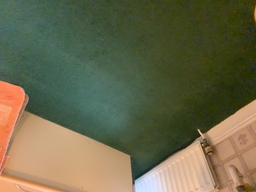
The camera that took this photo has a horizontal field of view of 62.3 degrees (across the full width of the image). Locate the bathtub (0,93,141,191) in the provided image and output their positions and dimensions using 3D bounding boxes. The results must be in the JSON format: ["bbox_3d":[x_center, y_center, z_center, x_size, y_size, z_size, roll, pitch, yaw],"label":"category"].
[{"bbox_3d":[-0.770,0.510,1.540,1.640,0.510,0.700,28,124,-27],"label":"bathtub"}]
